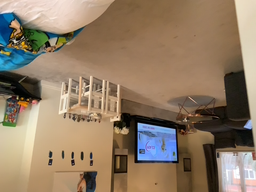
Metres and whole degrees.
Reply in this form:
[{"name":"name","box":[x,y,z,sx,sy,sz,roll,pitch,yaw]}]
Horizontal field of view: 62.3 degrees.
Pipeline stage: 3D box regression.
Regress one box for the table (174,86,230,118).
[{"name":"table","box":[1.460,0.150,4.230,0.770,0.390,0.750,14,160,-38]}]

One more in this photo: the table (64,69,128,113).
[{"name":"table","box":[-0.520,-0.040,3.540,0.840,0.470,0.600,14,160,-39]}]

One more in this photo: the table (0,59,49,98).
[{"name":"table","box":[-1.810,-0.280,3.060,1.150,0.320,0.450,14,160,-39]}]

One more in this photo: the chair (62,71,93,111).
[{"name":"chair","box":[-0.790,-0.070,3.360,0.340,0.520,0.290,14,160,-38]}]

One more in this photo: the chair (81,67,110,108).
[{"name":"chair","box":[-0.490,-0.110,3.220,0.290,0.520,0.310,14,160,-39]}]
